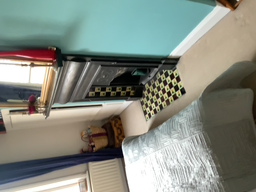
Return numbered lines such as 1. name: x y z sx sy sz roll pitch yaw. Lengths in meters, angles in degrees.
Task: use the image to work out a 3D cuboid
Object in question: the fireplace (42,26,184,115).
1. fireplace: -0.260 -0.210 2.570 1.210 1.330 0.380 -45 53 54
